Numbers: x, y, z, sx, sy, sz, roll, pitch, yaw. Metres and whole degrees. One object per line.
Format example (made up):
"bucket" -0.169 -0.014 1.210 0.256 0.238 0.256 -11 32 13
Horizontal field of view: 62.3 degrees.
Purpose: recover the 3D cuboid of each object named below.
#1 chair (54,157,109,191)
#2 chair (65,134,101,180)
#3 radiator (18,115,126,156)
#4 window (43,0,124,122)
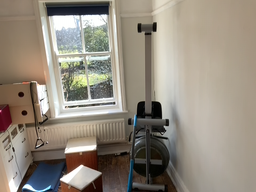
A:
"chair" -0.540 1.020 2.530 0.450 0.300 0.420 8 18 34
"chair" -0.650 0.890 3.160 0.460 0.460 0.410 -5 15 -7
"radiator" -0.830 0.610 3.310 1.570 0.460 0.110 -5 15 -7
"window" -0.670 -0.570 3.500 1.070 1.860 0.360 -6 15 -10
